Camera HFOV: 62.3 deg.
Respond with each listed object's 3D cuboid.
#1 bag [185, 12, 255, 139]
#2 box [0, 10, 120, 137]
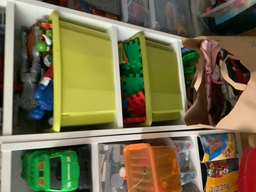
[{"bbox_3d":[0.500,-0.040,0.860,0.270,0.420,0.390,-18,72,55],"label":"bag"},{"bbox_3d":[-0.240,-0.040,0.720,0.250,0.340,0.320,-11,78,56],"label":"box"}]
